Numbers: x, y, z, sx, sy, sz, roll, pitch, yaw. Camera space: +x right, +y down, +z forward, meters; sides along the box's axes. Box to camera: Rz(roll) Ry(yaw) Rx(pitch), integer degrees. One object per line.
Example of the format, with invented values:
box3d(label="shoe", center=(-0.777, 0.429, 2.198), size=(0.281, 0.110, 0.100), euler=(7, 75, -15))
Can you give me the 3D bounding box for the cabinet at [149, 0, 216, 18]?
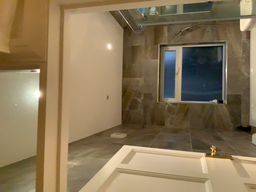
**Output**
box3d(label="cabinet", center=(0.710, -1.210, 2.770), size=(0.540, 0.780, 0.120), euler=(6, -95, -75))
